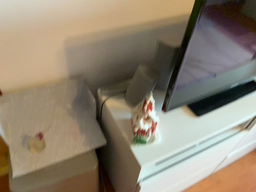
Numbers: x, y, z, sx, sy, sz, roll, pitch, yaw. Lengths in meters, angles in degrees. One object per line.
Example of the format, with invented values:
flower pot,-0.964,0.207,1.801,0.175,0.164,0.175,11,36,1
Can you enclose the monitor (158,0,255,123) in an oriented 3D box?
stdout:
monitor,0.470,-0.180,0.840,0.730,0.440,0.060,-21,53,-24
